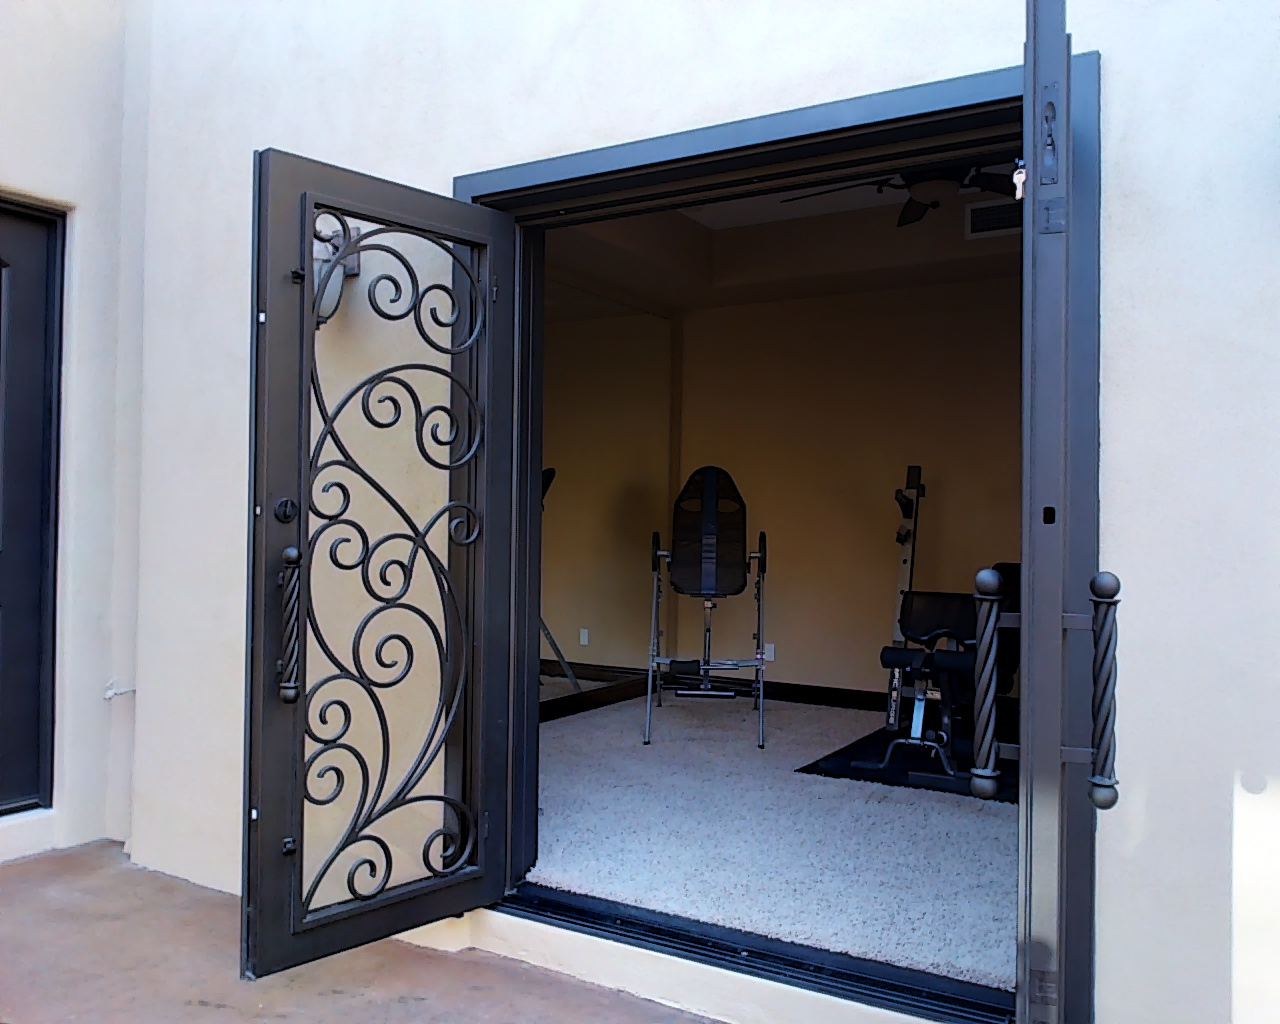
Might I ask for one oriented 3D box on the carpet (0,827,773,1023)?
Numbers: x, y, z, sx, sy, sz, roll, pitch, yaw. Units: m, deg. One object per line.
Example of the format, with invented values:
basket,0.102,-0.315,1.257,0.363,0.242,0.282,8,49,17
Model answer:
carpet,-0.880,1.400,2.970,3.940,0.140,1.030,1,0,31
